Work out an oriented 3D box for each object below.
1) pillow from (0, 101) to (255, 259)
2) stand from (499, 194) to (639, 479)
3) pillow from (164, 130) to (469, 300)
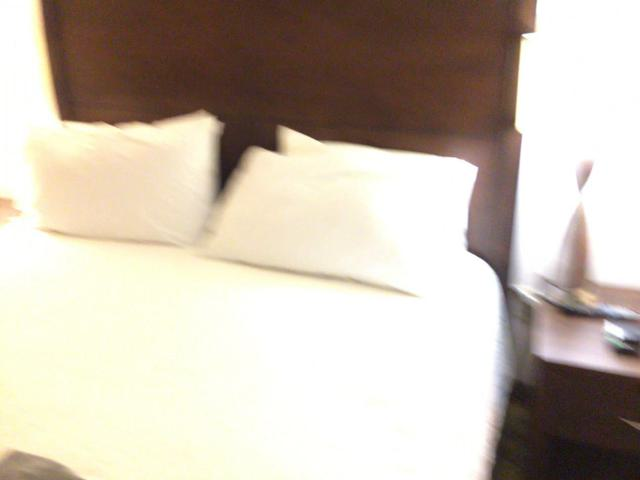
[{"bbox_3d":[-0.730,-0.250,2.100,0.820,0.410,0.460,5,25,21],"label":"pillow"},{"bbox_3d":[0.920,0.370,1.710,0.670,0.840,0.570,5,25,21],"label":"stand"},{"bbox_3d":[0.010,-0.120,1.880,0.860,0.370,0.430,5,25,21],"label":"pillow"}]
